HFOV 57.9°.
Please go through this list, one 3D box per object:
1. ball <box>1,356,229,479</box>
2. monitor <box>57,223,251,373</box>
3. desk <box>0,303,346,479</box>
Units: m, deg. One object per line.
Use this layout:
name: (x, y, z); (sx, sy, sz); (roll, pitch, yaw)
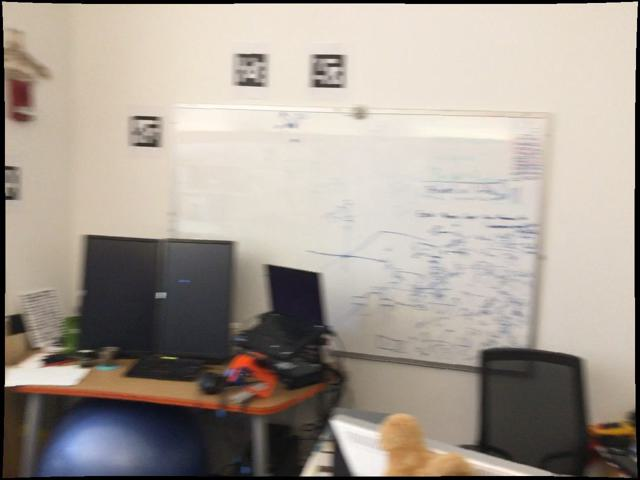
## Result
ball: (-0.829, 0.961, 2.450); (0.669, 0.691, 0.610); (5, 8, 13)
monitor: (-0.769, 0.240, 2.740); (0.749, 0.551, 0.450); (5, 8, 13)
desk: (-0.699, 0.881, 2.540); (1.419, 0.861, 0.970); (5, 8, 13)
